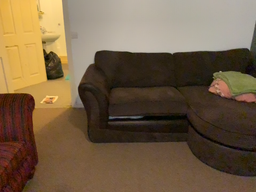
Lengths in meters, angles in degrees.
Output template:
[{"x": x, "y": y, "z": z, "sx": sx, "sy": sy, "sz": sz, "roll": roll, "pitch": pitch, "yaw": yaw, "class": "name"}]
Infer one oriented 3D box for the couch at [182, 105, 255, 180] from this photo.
[{"x": 1.020, "y": 0.400, "z": 2.000, "sx": 0.840, "sy": 0.450, "sz": 0.530, "roll": -1, "pitch": 21, "yaw": -4, "class": "couch"}]
